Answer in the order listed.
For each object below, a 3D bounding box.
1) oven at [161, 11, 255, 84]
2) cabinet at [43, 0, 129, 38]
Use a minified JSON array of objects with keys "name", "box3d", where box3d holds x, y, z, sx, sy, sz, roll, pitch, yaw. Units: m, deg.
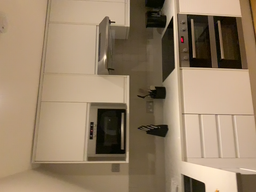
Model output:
[{"name":"oven","box3d":[0.910,-0.520,2.480,0.590,0.920,0.600,111,160,-76]},{"name":"cabinet","box3d":[-0.480,-1.080,2.630,0.320,0.960,0.570,111,160,-76]}]
